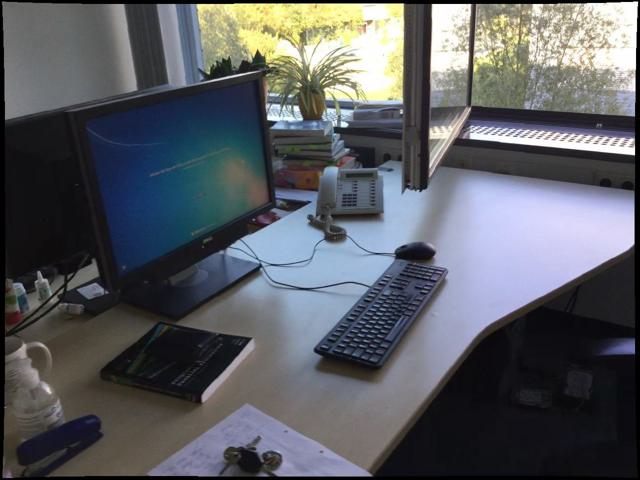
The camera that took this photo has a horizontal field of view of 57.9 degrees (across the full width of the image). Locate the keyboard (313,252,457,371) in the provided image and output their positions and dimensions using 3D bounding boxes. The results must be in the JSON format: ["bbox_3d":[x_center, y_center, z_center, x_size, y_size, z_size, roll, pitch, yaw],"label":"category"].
[{"bbox_3d":[0.160,0.140,1.290,0.160,0.030,0.410,9,29,30],"label":"keyboard"}]
